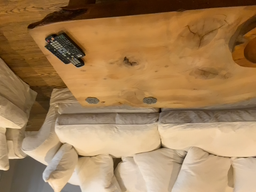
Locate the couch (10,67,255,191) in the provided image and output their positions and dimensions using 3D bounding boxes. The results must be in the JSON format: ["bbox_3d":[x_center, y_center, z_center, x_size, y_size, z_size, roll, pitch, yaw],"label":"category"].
[{"bbox_3d":[0.370,0.430,2.120,2.440,0.820,1.060,-4,150,11],"label":"couch"}]
